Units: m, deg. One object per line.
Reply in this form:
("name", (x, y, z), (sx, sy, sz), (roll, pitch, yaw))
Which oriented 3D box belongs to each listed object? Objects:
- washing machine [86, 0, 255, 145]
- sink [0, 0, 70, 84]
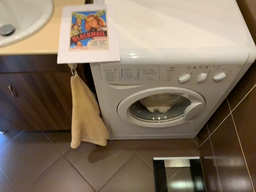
("washing machine", (0.160, -0.090, 1.180), (0.610, 0.830, 0.460), (0, 58, -1))
("sink", (-0.550, -0.280, 0.900), (0.510, 0.220, 0.400), (-1, 59, -1))
